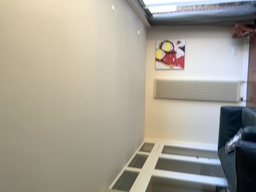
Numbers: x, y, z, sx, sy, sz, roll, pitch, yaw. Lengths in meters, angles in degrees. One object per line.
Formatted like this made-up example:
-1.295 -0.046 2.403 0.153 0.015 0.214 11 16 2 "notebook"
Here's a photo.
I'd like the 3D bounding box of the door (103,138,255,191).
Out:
1.190 1.340 4.140 2.570 2.530 0.150 -14 -74 -74 "door"
